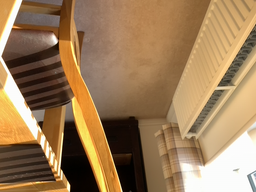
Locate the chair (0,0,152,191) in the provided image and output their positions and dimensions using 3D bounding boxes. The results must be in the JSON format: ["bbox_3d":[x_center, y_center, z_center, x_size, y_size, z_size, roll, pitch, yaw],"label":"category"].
[{"bbox_3d":[-0.280,0.010,0.760,0.530,1.050,0.470,-1,145,-8],"label":"chair"}]
